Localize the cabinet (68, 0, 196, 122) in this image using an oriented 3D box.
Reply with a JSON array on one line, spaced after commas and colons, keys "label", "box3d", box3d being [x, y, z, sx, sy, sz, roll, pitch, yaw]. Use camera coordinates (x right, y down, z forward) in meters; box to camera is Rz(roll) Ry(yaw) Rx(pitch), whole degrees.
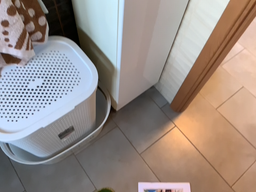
[{"label": "cabinet", "box3d": [0.020, -0.450, 0.730, 0.380, 1.710, 0.340, -33, 70, -19]}]
